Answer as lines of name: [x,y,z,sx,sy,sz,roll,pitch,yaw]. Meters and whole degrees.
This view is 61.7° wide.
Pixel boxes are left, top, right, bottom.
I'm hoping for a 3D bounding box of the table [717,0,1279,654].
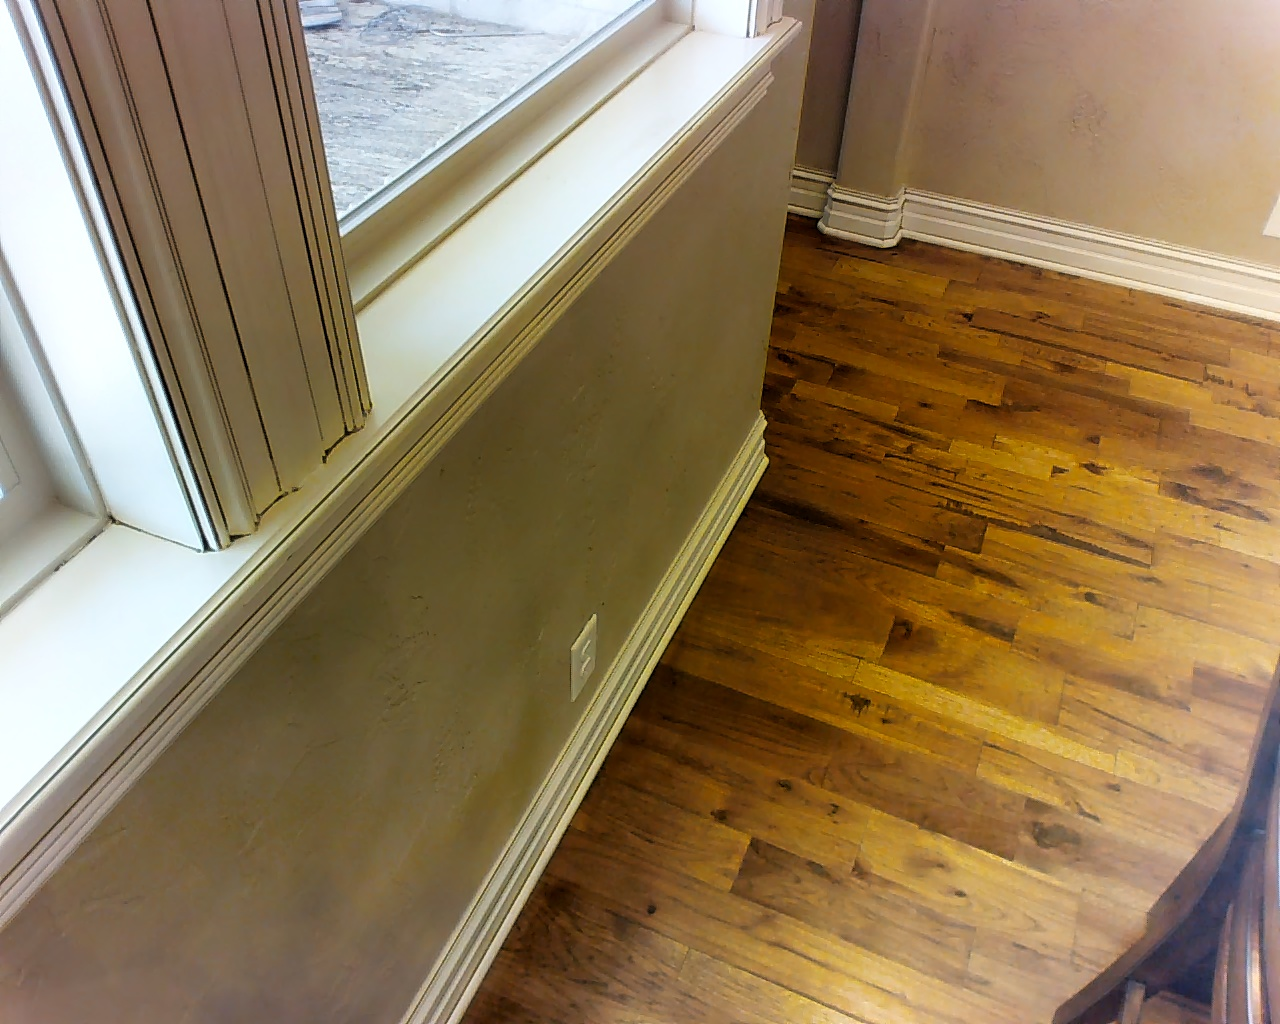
table: [1.130,-0.870,2.520,1.200,0.780,2.260,16,45,14]
